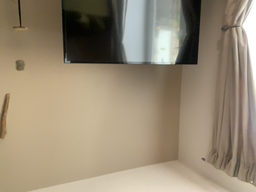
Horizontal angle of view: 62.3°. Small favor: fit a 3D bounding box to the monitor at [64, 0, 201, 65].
[{"bbox_3d":[0.100,-0.580,1.530,1.080,0.680,0.080,-3,-170,-29],"label":"monitor"}]
